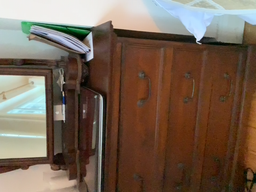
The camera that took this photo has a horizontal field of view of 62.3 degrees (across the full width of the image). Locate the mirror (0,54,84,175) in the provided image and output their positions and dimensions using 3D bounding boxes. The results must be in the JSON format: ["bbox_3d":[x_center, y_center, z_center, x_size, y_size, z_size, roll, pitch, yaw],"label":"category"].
[{"bbox_3d":[-0.600,0.100,0.940,0.140,0.720,0.480,20,119,62],"label":"mirror"}]
